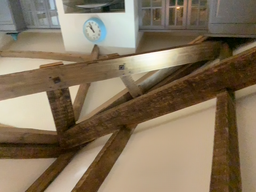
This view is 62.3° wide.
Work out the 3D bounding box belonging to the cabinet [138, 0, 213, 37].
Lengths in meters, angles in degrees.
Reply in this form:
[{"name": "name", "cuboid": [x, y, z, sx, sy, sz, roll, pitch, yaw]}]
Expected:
[{"name": "cabinet", "cuboid": [0.680, -1.380, 3.030, 0.980, 0.940, 0.450, 9, -151, 21]}]
